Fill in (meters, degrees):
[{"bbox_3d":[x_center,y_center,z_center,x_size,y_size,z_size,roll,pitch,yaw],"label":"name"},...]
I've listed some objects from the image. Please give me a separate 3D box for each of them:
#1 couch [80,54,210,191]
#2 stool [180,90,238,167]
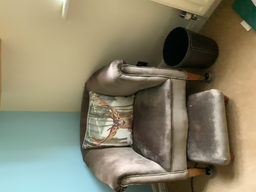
[{"bbox_3d":[0.070,0.170,1.510,0.740,0.610,0.700,-6,82,62],"label":"couch"},{"bbox_3d":[0.460,0.180,1.230,0.230,0.180,0.390,-13,75,61],"label":"stool"}]
